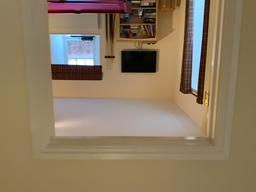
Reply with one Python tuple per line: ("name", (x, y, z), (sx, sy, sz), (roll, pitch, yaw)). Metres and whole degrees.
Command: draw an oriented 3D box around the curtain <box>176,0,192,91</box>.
("curtain", (1.060, -1.230, 4.010), (0.100, 2.240, 0.400), (0, -168, -1))
